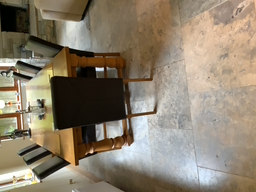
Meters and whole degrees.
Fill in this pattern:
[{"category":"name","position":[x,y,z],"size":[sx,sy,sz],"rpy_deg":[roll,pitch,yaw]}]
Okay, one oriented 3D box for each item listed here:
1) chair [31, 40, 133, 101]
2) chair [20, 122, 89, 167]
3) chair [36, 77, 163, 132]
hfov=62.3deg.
[{"category":"chair","position":[-0.550,-0.290,2.650],"size":[0.440,1.110,0.590],"rpy_deg":[-12,83,56]},{"category":"chair","position":[-1.380,0.870,4.030],"size":[0.460,1.110,0.590],"rpy_deg":[-9,86,56]},{"category":"chair","position":[-0.260,0.050,2.040],"size":[0.580,1.040,0.380],"rpy_deg":[-6,88,56]}]
